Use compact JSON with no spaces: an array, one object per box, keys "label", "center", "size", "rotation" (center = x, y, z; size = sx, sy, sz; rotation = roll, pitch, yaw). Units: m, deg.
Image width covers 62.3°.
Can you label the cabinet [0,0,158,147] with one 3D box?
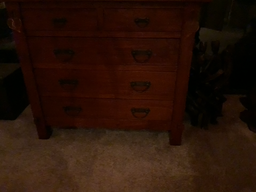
[{"label":"cabinet","center":[-0.330,-0.180,1.360],"size":[0.940,0.820,0.510],"rotation":[1,27,2]}]
